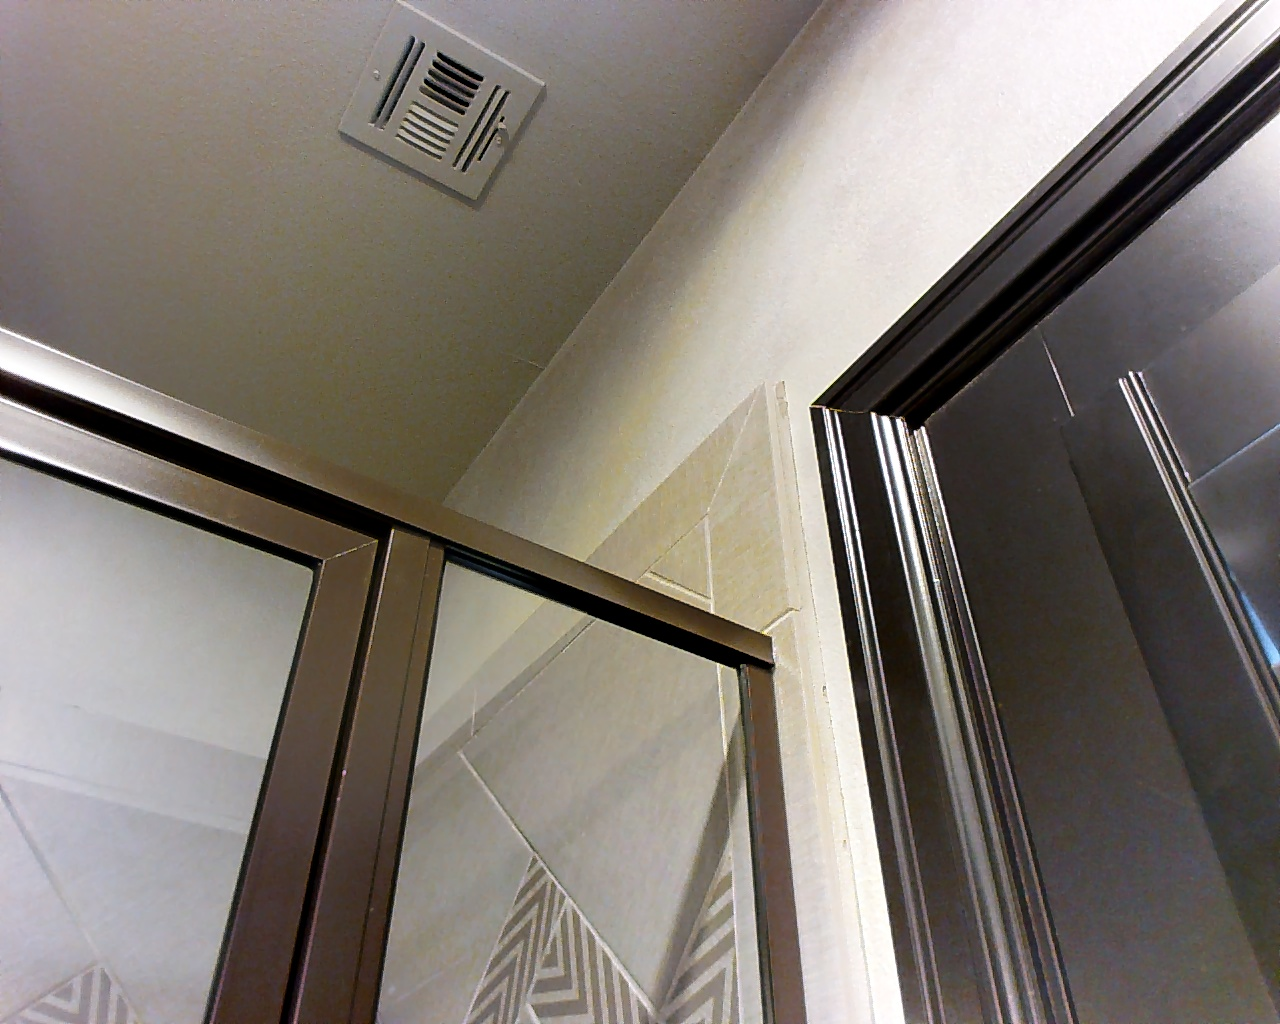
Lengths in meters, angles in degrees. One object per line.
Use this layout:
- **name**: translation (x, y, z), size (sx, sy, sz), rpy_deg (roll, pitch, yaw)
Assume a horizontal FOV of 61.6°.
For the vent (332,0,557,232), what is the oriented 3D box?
- **vent**: translation (-0.250, -0.490, 1.360), size (0.200, 0.020, 0.230), rpy_deg (23, -47, -24)
